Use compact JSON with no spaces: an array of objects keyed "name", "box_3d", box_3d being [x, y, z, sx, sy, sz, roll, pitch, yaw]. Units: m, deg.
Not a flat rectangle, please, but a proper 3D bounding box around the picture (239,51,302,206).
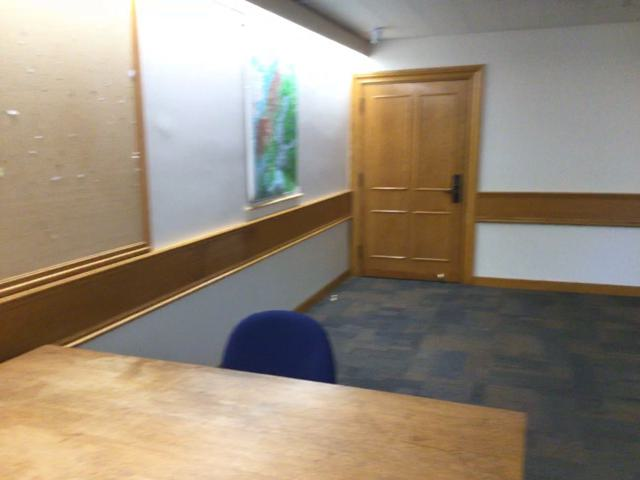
[{"name":"picture","box_3d":[-0.310,-0.740,3.930,0.090,0.930,0.850,0,10,16]}]
